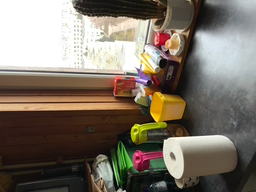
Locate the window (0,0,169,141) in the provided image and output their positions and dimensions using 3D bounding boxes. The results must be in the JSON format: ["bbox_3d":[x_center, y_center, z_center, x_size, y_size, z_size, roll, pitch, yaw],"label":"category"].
[{"bbox_3d":[-0.480,-0.440,0.990,0.310,1.300,1.350,-122,36,-59],"label":"window"}]
